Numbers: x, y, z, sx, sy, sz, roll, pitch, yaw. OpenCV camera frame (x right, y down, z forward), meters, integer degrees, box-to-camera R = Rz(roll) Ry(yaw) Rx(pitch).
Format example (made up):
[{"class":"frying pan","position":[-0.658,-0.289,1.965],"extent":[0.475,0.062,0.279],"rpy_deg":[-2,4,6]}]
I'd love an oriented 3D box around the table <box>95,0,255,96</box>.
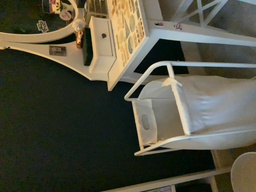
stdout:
[{"class":"table","position":[0.230,-0.570,1.280],"extent":[0.490,0.730,1.020],"rpy_deg":[135,129,-60]}]
